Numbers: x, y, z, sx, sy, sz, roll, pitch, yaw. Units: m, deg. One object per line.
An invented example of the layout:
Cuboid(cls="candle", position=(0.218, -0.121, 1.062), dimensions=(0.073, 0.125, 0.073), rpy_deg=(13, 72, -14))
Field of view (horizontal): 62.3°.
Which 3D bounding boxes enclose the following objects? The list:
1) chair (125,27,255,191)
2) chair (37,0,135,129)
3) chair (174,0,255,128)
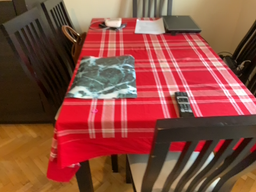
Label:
Cuboid(cls="chair", position=(0.220, 0.280, 0.980), dimensions=(0.410, 1.000, 0.600), rpy_deg=(-2, 36, -5))
Cuboid(cls="chair", position=(-0.260, -0.260, 1.740), dimensions=(0.580, 0.990, 0.420), rpy_deg=(4, 36, 4))
Cuboid(cls="chair", position=(0.770, -0.260, 1.770), dimensions=(0.590, 1.000, 0.410), rpy_deg=(4, 36, 4))
